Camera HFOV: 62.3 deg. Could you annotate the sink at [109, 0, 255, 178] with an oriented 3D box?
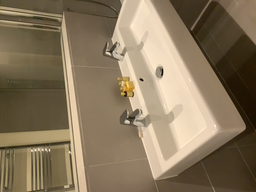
[{"bbox_3d":[0.140,-0.170,1.100,0.470,0.170,1.000,119,143,-47],"label":"sink"}]
